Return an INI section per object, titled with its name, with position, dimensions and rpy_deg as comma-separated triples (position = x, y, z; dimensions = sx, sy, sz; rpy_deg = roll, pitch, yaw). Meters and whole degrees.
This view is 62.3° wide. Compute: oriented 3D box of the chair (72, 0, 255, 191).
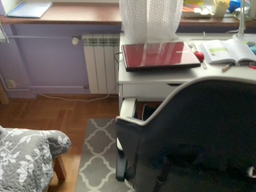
[chair]
position = 0.320, 0.210, 1.020
dimensions = 0.770, 1.220, 0.780
rpy_deg = 6, 41, 5
